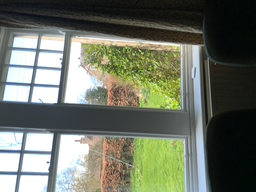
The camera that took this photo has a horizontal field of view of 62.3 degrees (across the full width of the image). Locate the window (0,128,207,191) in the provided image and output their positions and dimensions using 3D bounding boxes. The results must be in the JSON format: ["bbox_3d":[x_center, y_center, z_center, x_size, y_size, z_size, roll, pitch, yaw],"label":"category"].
[{"bbox_3d":[-0.310,0.730,1.800,0.160,1.960,0.830,112,161,-74],"label":"window"}]

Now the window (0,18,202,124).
[{"bbox_3d":[-0.290,-0.200,2.250,0.540,1.940,0.850,113,160,-75],"label":"window"}]
